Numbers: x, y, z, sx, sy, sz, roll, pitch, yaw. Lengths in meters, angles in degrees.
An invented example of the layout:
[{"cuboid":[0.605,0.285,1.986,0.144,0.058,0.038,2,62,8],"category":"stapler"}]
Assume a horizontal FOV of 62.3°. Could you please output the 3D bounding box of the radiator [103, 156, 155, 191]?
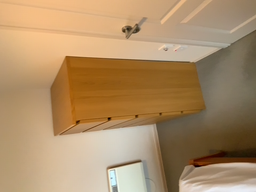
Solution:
[{"cuboid":[0.040,1.050,2.260,0.170,0.490,0.700,-27,70,59],"category":"radiator"}]
